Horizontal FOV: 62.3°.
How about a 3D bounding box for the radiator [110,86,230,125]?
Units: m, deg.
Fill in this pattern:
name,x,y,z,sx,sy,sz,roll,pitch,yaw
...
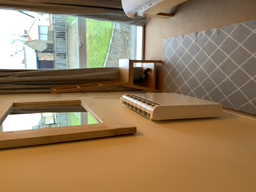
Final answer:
name,x,y,z,sx,sy,sz,roll,pitch,yaw
radiator,0.290,0.040,1.810,0.770,0.690,0.160,-158,68,-66
